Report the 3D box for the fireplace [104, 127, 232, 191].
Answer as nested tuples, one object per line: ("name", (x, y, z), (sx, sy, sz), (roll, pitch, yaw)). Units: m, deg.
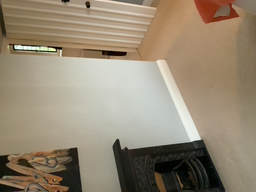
("fireplace", (0.360, 0.750, 1.950), (0.320, 0.970, 0.780), (117, 144, -49))
